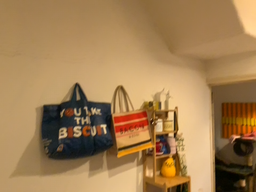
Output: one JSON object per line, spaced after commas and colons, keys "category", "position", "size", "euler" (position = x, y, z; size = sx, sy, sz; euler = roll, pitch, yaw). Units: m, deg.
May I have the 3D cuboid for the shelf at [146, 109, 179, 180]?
{"category": "shelf", "position": [0.340, 0.440, 2.040], "size": [0.350, 0.630, 0.100], "euler": [2, -4, -39]}
